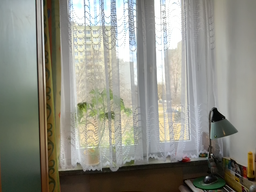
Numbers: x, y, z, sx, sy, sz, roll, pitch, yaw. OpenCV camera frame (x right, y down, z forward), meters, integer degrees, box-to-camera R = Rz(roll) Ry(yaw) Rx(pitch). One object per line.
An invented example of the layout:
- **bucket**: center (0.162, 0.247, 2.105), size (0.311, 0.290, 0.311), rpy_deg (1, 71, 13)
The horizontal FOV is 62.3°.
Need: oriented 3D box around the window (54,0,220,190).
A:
- **window**: center (0.080, -0.210, 1.590), size (1.140, 1.640, 0.220), rpy_deg (-2, 2, -8)
